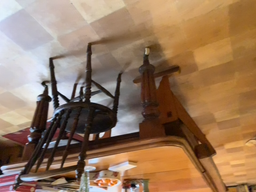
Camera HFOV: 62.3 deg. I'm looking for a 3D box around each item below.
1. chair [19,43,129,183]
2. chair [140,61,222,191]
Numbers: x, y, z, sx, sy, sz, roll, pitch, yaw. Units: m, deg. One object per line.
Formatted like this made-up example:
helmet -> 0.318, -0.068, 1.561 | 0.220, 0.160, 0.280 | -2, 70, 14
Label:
chair -> -0.290, 0.130, 1.420 | 0.420, 0.730, 0.480 | -13, 146, 17
chair -> 0.550, 0.420, 1.970 | 0.380, 0.680, 1.410 | -14, 145, 18
